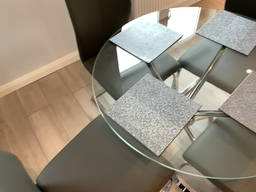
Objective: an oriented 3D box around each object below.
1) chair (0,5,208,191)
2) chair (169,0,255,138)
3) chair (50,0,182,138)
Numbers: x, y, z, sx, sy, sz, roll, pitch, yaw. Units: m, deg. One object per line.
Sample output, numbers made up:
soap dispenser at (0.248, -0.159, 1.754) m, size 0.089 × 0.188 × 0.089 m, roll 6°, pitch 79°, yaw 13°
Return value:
chair at (-0.150, 0.310, 0.840) m, size 0.440 × 1.010 × 0.560 m, roll 37°, pitch 64°, yaw 28°
chair at (0.630, -0.300, 1.250) m, size 0.440 × 1.020 × 0.550 m, roll 33°, pitch 62°, yaw 26°
chair at (-0.050, -0.270, 1.280) m, size 0.430 × 1.010 × 0.490 m, roll -36°, pitch 58°, yaw -21°
